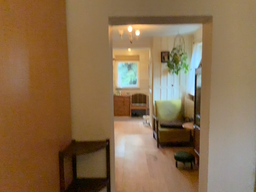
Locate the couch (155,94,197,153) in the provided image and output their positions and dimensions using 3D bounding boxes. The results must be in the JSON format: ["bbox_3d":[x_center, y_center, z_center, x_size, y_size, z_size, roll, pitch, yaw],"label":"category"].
[{"bbox_3d":[1.060,0.580,4.920,0.790,1.180,0.900,0,6,3],"label":"couch"}]
